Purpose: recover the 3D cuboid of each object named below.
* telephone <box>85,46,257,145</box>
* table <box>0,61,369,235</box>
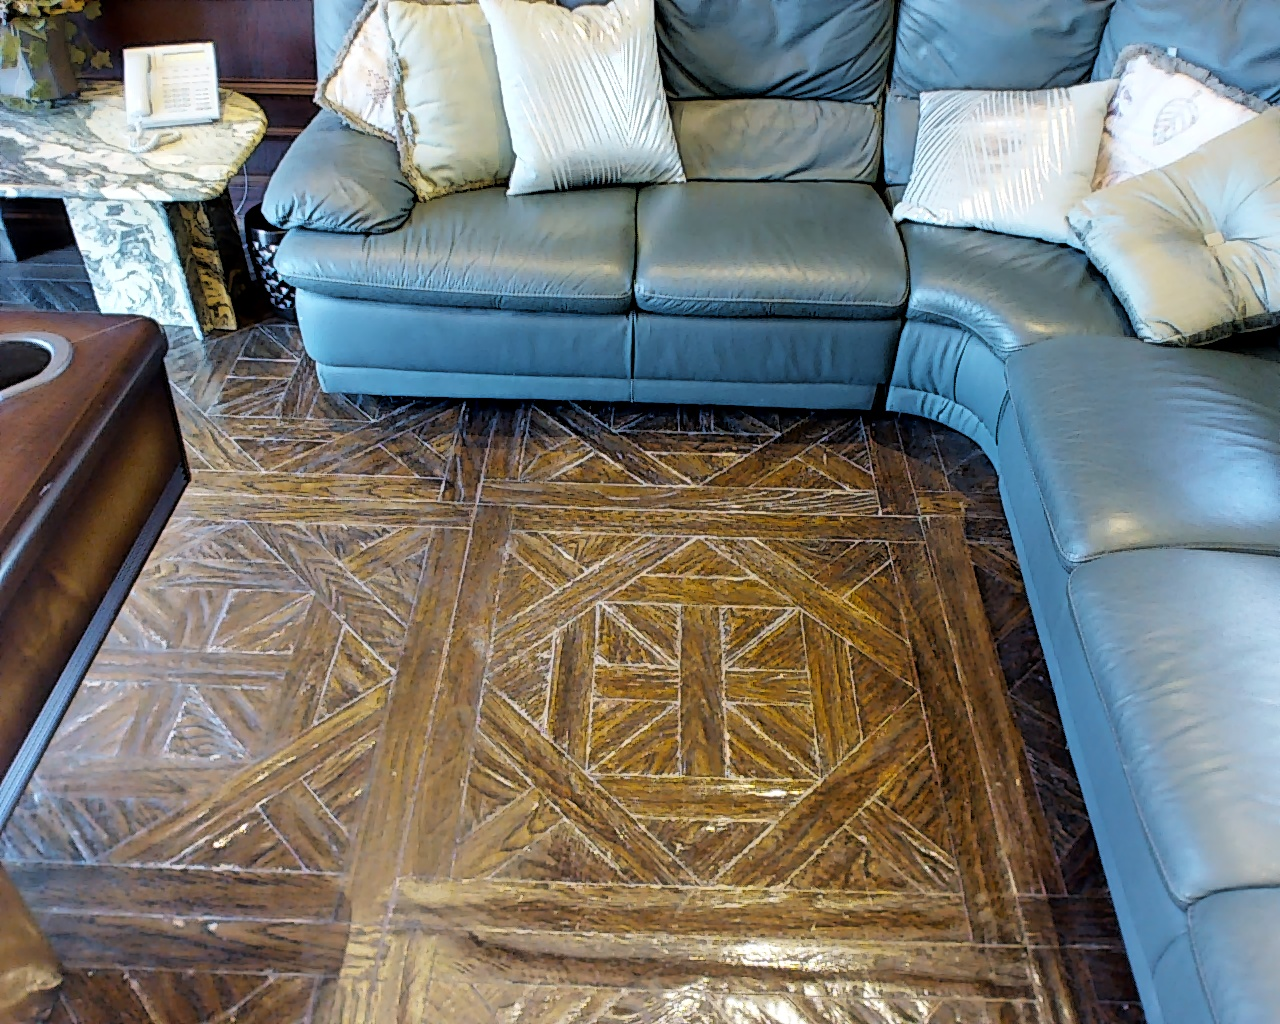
[{"bbox_3d":[-1.110,-1.000,2.550,0.280,0.120,0.300,0,42,-1],"label":"telephone"},{"bbox_3d":[-1.420,-0.890,2.530,1.390,0.100,0.710,2,42,1],"label":"table"}]
